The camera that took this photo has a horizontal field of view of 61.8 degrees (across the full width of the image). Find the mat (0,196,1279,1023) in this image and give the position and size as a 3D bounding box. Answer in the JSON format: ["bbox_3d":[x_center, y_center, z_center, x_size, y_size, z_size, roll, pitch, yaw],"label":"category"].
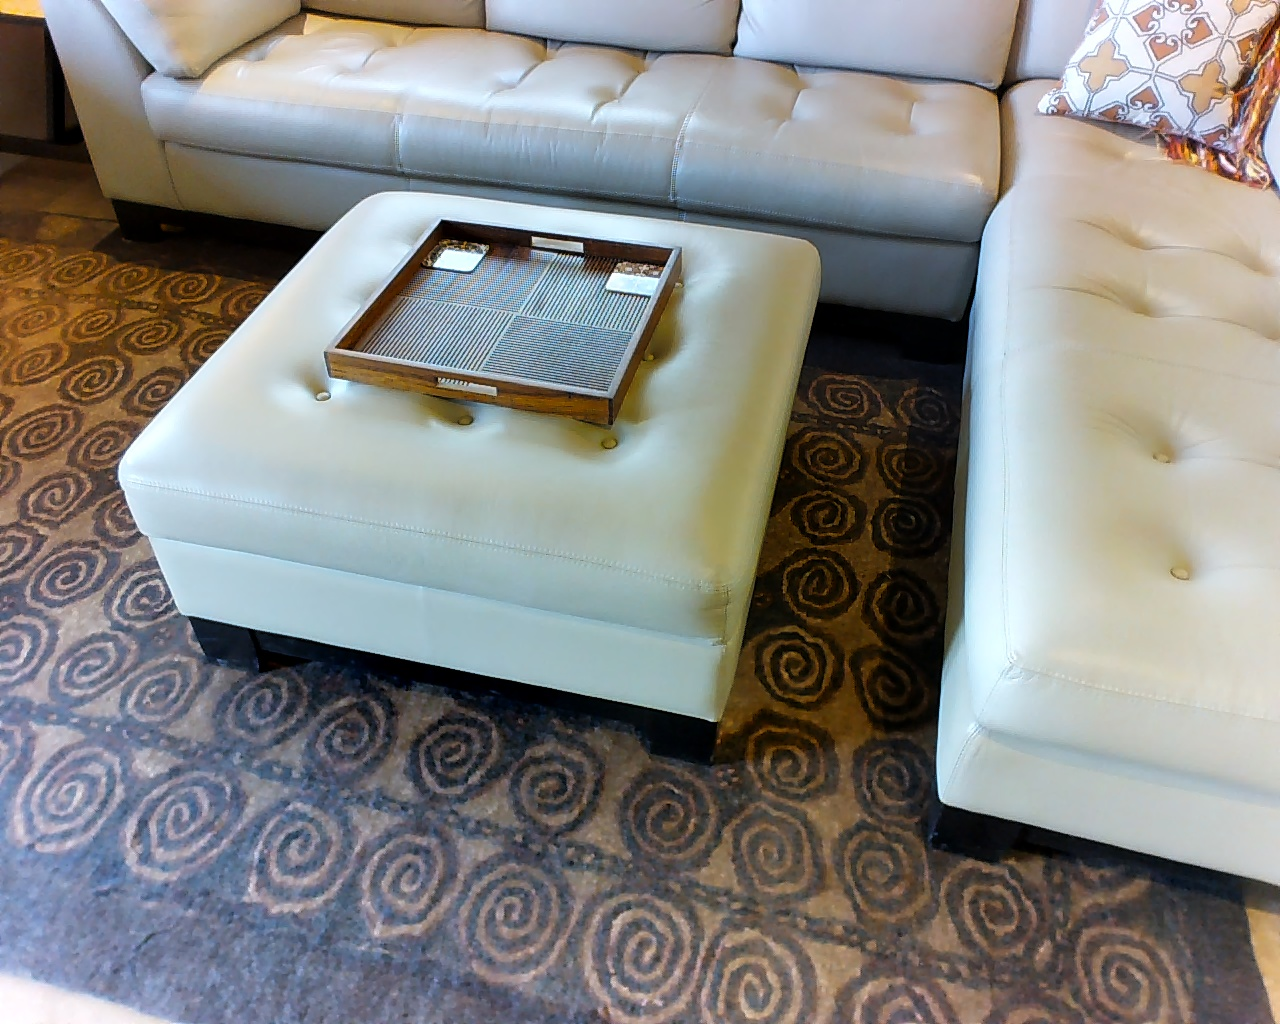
[{"bbox_3d":[-0.610,0.030,2.110,3.401,0.070,2.020,10,43,10],"label":"mat"}]

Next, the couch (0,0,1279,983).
[{"bbox_3d":[0.130,-0.630,2.200,3.421,0.910,2.340,10,43,10],"label":"couch"}]

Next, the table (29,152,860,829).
[{"bbox_3d":[-0.210,-0.130,1.910,1.030,0.510,1.030,10,43,10],"label":"table"}]
